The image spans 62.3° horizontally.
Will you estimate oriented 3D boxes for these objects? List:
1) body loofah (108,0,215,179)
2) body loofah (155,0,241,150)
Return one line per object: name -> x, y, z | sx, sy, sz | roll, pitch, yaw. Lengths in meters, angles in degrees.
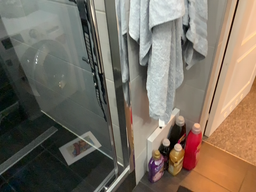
body loofah -> 0.130, -0.130, 0.880 | 0.230, 1.150, 0.290 | 31, 50, 34
body loofah -> 0.340, -0.240, 1.080 | 0.330, 1.180, 0.200 | -34, 48, -32
